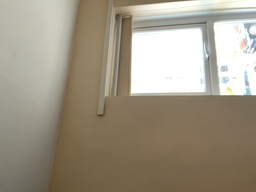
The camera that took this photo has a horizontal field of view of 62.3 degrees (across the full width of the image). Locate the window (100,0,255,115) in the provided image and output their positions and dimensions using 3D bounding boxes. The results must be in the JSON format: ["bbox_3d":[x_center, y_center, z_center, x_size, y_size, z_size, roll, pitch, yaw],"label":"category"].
[{"bbox_3d":[0.760,-0.360,1.850,0.320,1.880,0.990,65,-153,-66],"label":"window"}]
